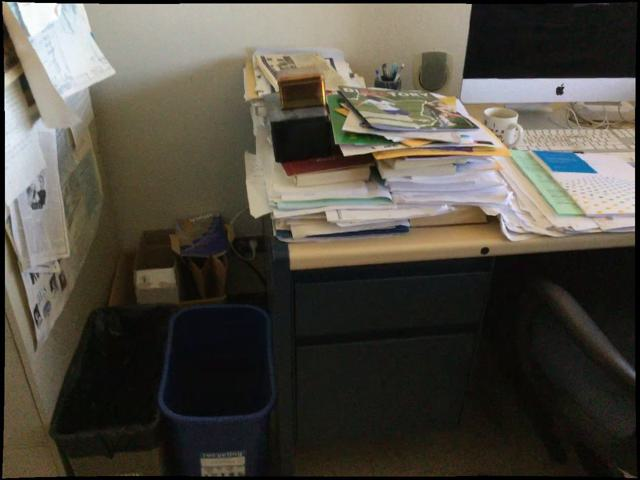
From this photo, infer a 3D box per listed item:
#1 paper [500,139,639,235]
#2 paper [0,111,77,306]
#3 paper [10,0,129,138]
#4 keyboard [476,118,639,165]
[{"bbox_3d":[0.598,-0.130,1.270,0.259,0.040,0.360,-5,32,-8],"label":"paper"},{"bbox_3d":[-0.559,-0.070,1.150,0.030,0.291,0.280,-5,32,-8],"label":"paper"},{"bbox_3d":[-0.539,-0.602,1.210,0.110,0.631,0.470,-5,32,-8],"label":"paper"},{"bbox_3d":[0.678,-0.261,1.490,0.499,0.030,0.180,-5,32,-8],"label":"keyboard"}]
